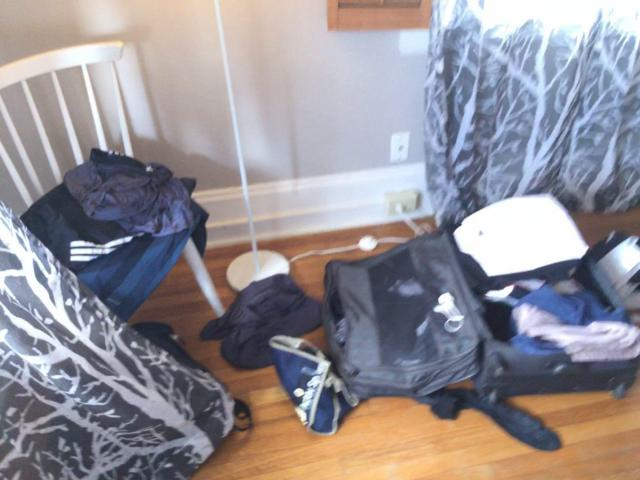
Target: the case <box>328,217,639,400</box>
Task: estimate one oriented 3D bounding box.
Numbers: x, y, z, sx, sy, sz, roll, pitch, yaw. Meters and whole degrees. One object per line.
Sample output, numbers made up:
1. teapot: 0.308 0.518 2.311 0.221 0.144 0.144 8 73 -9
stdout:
1. case: 0.440 0.180 1.780 0.810 0.160 0.600 -2 37 0
